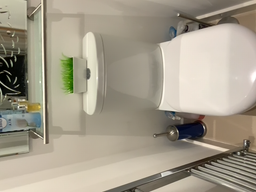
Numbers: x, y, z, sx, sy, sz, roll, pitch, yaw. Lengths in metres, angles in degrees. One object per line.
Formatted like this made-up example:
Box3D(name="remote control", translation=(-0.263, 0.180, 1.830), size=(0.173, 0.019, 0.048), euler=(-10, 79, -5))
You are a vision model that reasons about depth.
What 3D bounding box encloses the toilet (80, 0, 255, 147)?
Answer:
Box3D(name="toilet", translation=(0.290, -0.100, 0.990), size=(0.630, 0.810, 0.390), euler=(4, 95, 52))
